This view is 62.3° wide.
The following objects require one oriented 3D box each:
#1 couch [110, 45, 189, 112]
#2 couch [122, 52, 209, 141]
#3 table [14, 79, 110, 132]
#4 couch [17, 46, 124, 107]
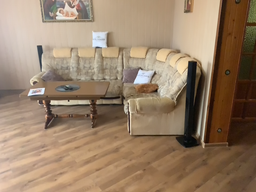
[{"bbox_3d":[0.490,-0.470,4.480,0.750,1.020,1.610,18,27,42],"label":"couch"},{"bbox_3d":[0.460,-0.070,3.320,1.060,1.050,1.190,0,20,1],"label":"couch"},{"bbox_3d":[-0.960,0.120,3.430,1.280,0.630,0.720,0,20,0],"label":"table"},{"bbox_3d":[-1.040,-0.470,4.460,1.860,1.030,1.140,0,20,1],"label":"couch"}]
